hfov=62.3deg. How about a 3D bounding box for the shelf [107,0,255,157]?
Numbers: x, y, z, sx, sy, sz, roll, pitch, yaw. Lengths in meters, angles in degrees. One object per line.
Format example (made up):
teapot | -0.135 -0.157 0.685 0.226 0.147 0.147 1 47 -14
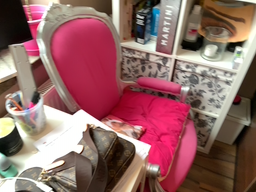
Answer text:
shelf | 0.320 -0.350 1.370 0.740 1.460 0.490 19 44 18

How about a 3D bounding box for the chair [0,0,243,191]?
chair | -0.020 0.090 1.180 0.820 1.030 0.600 19 44 18
